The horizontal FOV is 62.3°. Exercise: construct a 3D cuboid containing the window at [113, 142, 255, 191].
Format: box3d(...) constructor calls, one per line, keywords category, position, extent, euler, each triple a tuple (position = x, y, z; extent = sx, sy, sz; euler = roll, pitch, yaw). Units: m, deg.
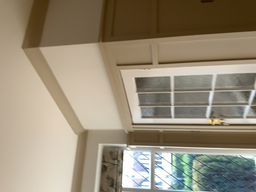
box3d(category="window", position=(0.650, 1.360, 2.330), extent=(0.200, 1.670, 1.600), euler=(65, -153, -65))
